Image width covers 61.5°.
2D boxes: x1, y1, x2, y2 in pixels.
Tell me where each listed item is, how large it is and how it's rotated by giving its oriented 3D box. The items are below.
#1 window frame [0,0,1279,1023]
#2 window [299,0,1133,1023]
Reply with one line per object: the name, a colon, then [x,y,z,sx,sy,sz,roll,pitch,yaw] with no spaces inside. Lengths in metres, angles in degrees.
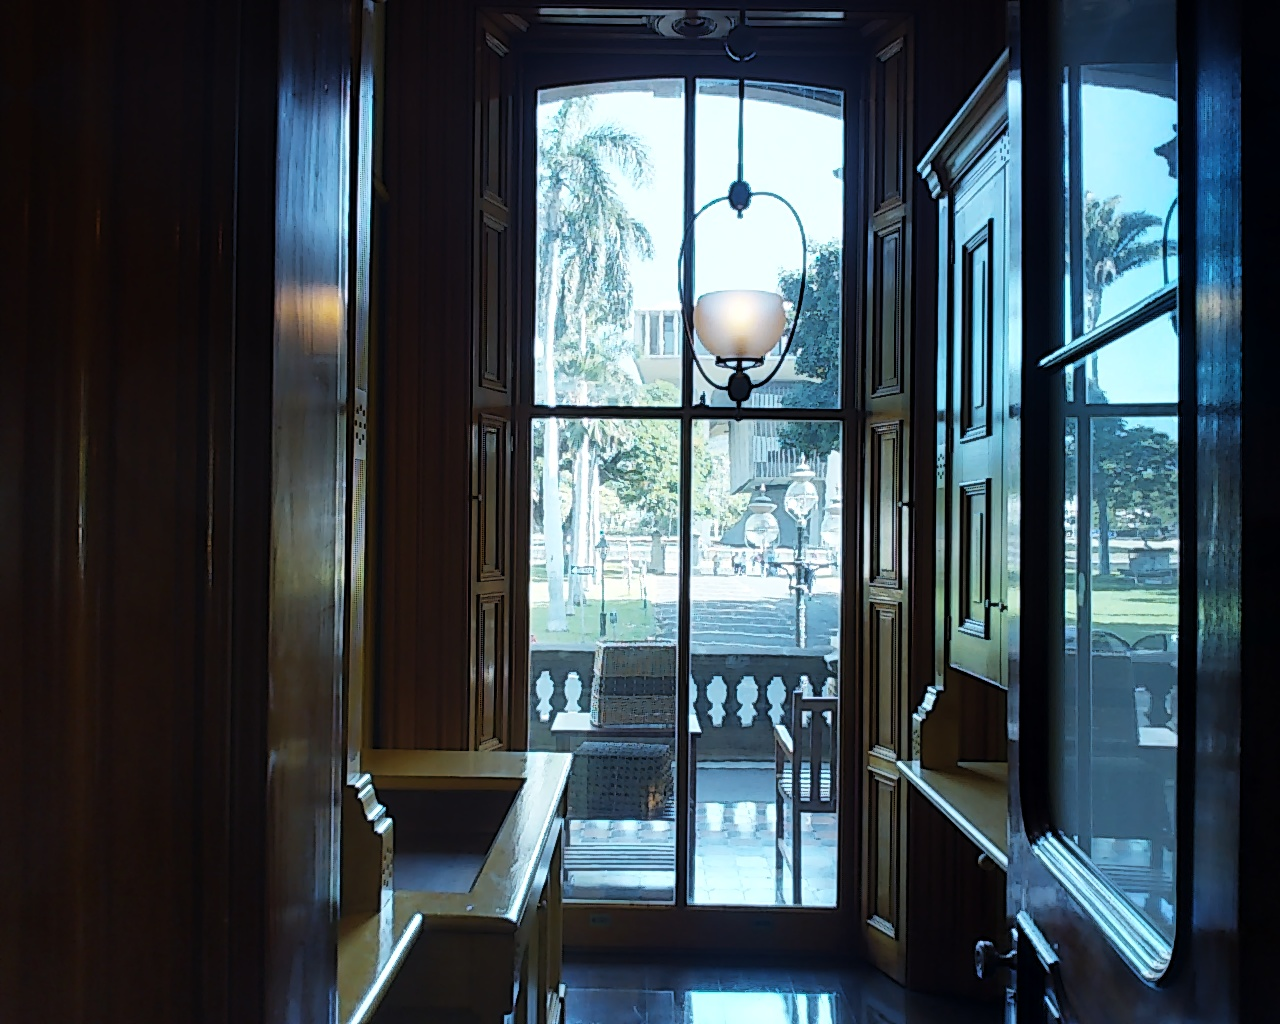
window frame: [0.150,-0.340,1.620,2.130,3.781,0.460,1,0,2]
window: [0.120,-0.130,1.820,1.330,3.340,0.160,1,0,2]
